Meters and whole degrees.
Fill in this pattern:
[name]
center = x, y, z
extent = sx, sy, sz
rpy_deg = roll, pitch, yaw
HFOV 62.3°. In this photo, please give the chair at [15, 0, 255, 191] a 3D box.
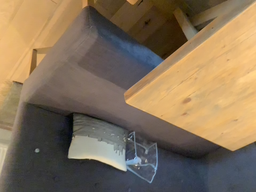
[chair]
center = 0.300, 0.260, 1.600
extent = 1.790, 0.950, 0.740
rpy_deg = 26, 130, -37
